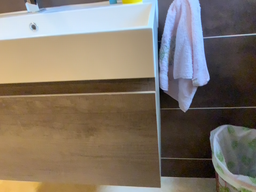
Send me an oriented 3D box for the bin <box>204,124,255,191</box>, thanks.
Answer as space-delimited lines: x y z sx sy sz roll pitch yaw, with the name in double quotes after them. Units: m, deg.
0.490 0.340 0.840 0.310 0.340 0.280 1 31 14 "bin"
